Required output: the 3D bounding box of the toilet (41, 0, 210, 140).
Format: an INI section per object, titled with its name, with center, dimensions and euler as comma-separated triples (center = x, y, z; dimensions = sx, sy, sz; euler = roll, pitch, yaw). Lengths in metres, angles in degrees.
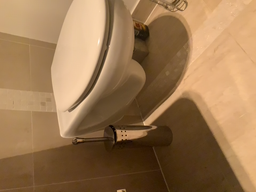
[toilet]
center = -0.070, -0.120, 0.860
dimensions = 0.520, 0.400, 0.370
euler = -52, 45, 39
